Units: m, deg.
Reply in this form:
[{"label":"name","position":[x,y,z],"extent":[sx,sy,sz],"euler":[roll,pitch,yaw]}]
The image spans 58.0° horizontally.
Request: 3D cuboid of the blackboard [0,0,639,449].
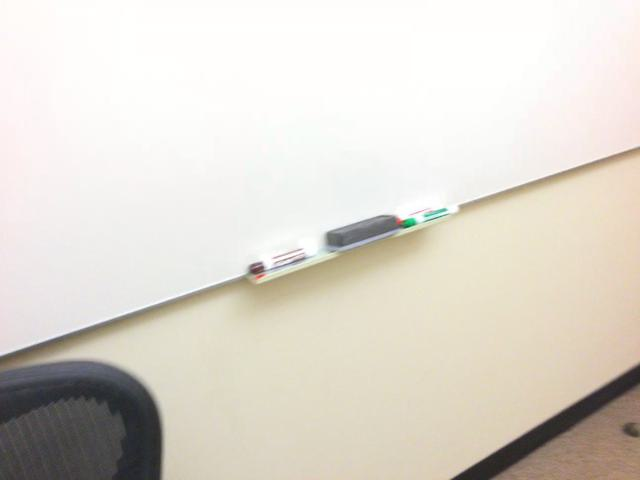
[{"label":"blackboard","position":[0.190,-0.270,1.060],"extent":[2.560,0.570,0.150],"euler":[-21,23,-27]}]
